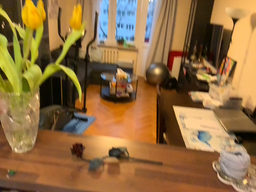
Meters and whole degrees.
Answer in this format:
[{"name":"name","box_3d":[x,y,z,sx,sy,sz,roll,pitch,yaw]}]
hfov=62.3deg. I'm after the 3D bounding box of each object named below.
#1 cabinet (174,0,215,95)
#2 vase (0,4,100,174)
[{"name":"cabinet","box_3d":[1.440,-1.250,4.690,0.360,2.290,0.780,7,21,3]},{"name":"vase","box_3d":[-0.340,-0.050,0.710,0.430,0.460,0.320,5,21,-2]}]
